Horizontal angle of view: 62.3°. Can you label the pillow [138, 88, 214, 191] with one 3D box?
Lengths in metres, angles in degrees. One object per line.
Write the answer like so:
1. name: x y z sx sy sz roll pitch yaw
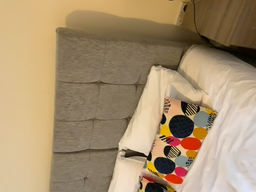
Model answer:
1. pillow: 0.270 0.300 1.230 0.170 0.290 0.620 25 117 25
